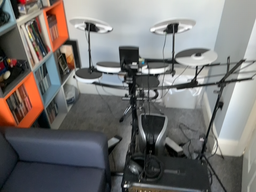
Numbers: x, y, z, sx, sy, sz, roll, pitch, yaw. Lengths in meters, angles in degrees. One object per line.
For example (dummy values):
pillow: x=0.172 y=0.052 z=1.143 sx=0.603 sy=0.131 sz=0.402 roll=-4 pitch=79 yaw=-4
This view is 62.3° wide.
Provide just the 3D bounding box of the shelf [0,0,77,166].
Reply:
shelf: x=-0.840 y=-0.340 z=1.730 sx=0.280 sy=1.400 sz=1.090 roll=4 pitch=36 yaw=7
